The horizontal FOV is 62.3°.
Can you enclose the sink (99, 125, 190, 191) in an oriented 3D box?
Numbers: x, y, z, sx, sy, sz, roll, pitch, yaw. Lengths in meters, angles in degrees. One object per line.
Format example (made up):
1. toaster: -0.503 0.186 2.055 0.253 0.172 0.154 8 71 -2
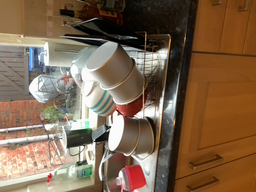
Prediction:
1. sink: 0.050 0.460 1.180 0.500 0.220 0.420 24 113 56
